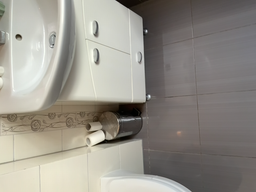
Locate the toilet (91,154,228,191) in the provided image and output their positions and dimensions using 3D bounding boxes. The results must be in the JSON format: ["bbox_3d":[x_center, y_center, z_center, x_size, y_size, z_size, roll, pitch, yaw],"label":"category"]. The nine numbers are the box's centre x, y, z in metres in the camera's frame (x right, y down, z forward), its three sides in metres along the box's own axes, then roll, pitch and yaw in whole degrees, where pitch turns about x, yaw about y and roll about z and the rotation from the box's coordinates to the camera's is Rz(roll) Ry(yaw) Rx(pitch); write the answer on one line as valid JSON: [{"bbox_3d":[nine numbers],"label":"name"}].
[{"bbox_3d":[0.170,0.540,1.050,0.530,0.440,0.360,-4,86,34],"label":"toilet"}]

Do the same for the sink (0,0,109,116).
[{"bbox_3d":[-0.320,-0.230,0.820,0.440,0.200,0.600,-5,85,34],"label":"sink"}]

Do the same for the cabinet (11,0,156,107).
[{"bbox_3d":[-0.170,-0.220,1.150,0.310,0.750,0.540,-5,85,34],"label":"cabinet"}]
